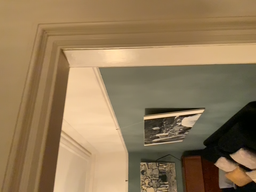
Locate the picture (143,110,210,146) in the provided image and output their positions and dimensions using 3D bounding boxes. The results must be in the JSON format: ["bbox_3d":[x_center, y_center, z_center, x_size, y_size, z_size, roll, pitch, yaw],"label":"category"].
[{"bbox_3d":[0.570,0.510,2.990,1.490,0.690,0.090,84,-174,-65],"label":"picture"}]
